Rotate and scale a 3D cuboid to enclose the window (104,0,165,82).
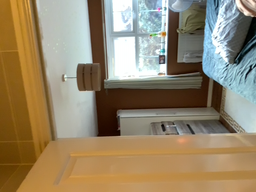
[{"bbox_3d":[0.140,-1.170,4.030,0.210,1.080,1.760,-90,-2,-73],"label":"window"}]
